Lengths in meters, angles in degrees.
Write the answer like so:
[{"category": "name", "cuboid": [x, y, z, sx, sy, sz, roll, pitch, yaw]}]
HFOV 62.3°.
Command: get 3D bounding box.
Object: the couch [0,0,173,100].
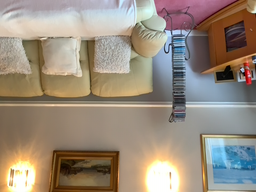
[{"category": "couch", "cuboid": [-0.760, -0.550, 2.310, 2.240, 0.990, 1.040, 0, 168, 0]}]
